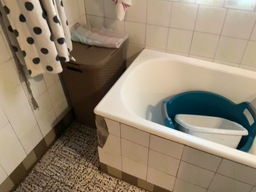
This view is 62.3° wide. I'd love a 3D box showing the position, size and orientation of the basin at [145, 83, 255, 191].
[{"bbox_3d":[0.440,0.240,1.330,0.530,0.330,0.450,16,43,18],"label":"basin"}]
